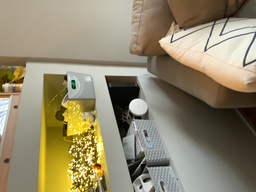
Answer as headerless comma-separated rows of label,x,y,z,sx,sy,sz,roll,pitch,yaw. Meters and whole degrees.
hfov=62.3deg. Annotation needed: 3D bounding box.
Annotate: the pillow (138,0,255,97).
pillow,0.390,-0.220,0.850,0.560,0.400,0.160,23,132,23
